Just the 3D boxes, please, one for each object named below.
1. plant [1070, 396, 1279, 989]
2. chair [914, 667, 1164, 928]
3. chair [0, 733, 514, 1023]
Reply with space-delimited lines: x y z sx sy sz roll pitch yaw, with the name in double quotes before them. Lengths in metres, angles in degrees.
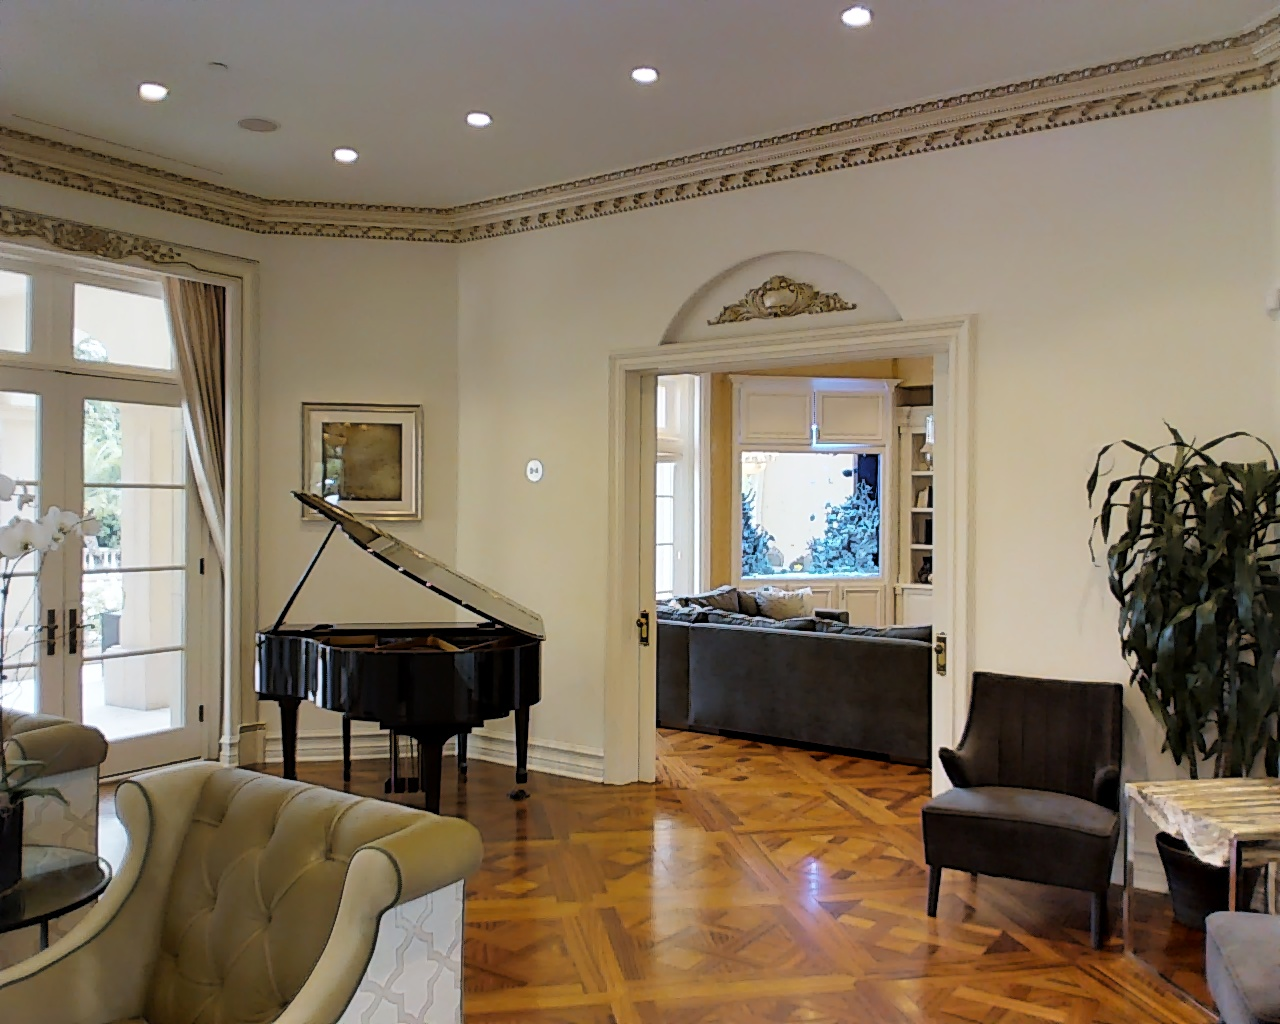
"plant" 2.269 0.620 4.190 0.670 2.051 0.850 0 1 -37
"chair" 1.710 1.140 4.550 0.800 0.780 0.900 1 1 34
"chair" -0.960 1.110 2.180 1.030 1.030 0.940 1 1 35
